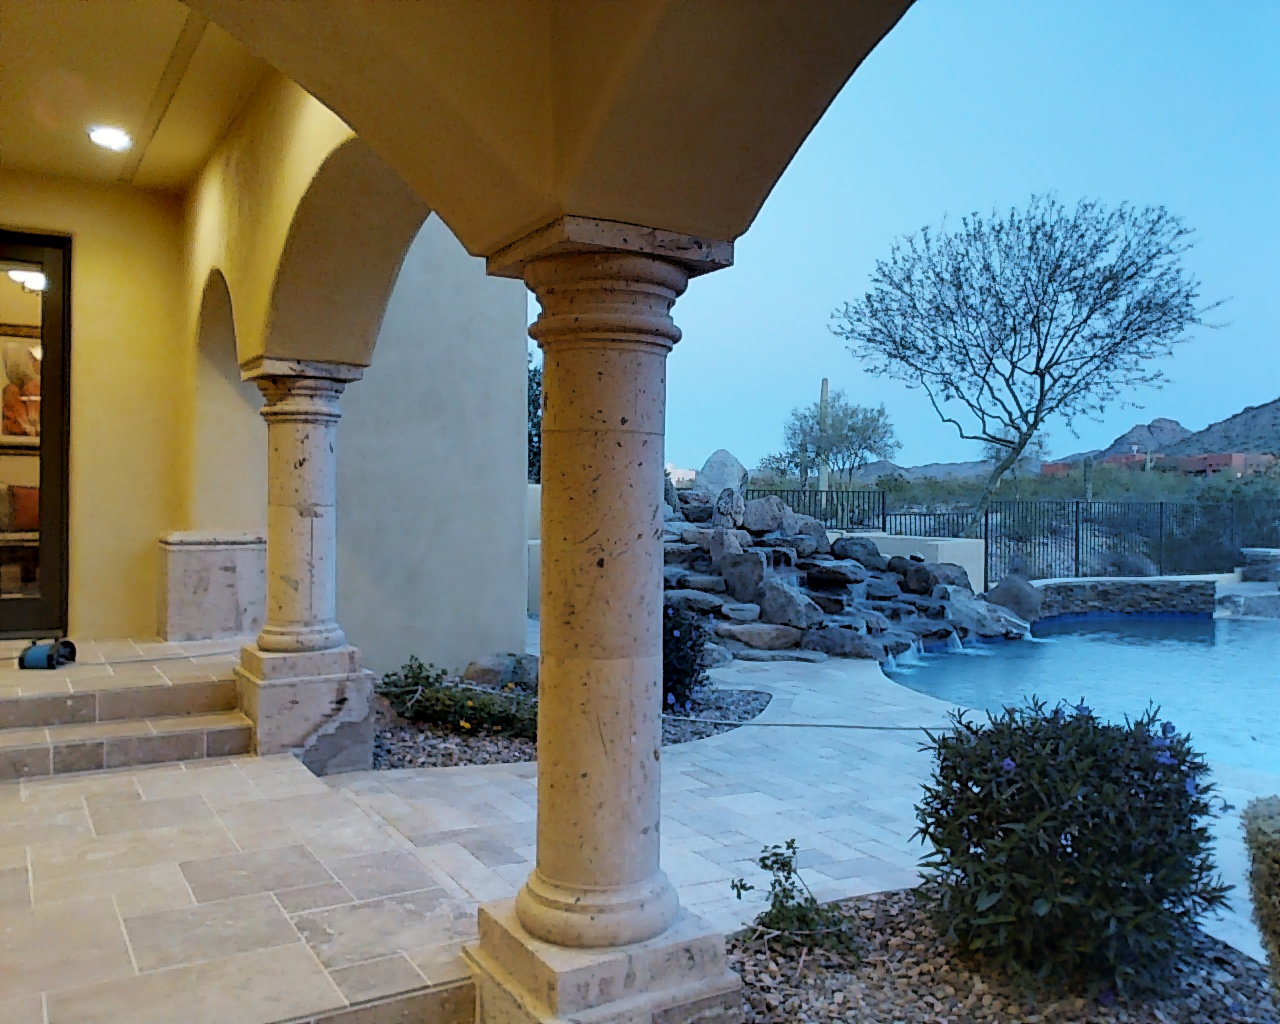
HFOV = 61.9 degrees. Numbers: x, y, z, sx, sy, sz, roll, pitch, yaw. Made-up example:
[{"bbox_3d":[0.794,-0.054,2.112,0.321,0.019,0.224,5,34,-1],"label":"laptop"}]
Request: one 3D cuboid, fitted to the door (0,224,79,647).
[{"bbox_3d":[-4.110,-0.440,6.120,1.530,2.410,0.510,0,1,-32],"label":"door"}]
